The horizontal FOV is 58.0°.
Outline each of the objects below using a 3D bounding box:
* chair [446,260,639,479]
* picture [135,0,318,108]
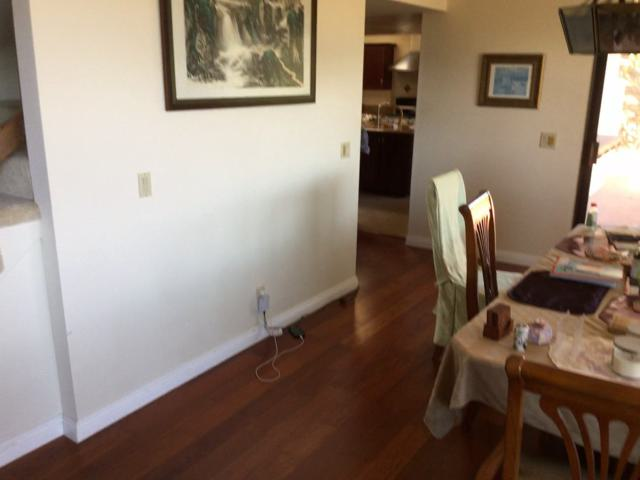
[{"bbox_3d":[0.790,0.690,1.360,0.760,1.040,0.730,10,17,34],"label":"chair"},{"bbox_3d":[-0.400,-1.080,2.950,0.050,0.710,1.250,14,22,33],"label":"picture"}]
